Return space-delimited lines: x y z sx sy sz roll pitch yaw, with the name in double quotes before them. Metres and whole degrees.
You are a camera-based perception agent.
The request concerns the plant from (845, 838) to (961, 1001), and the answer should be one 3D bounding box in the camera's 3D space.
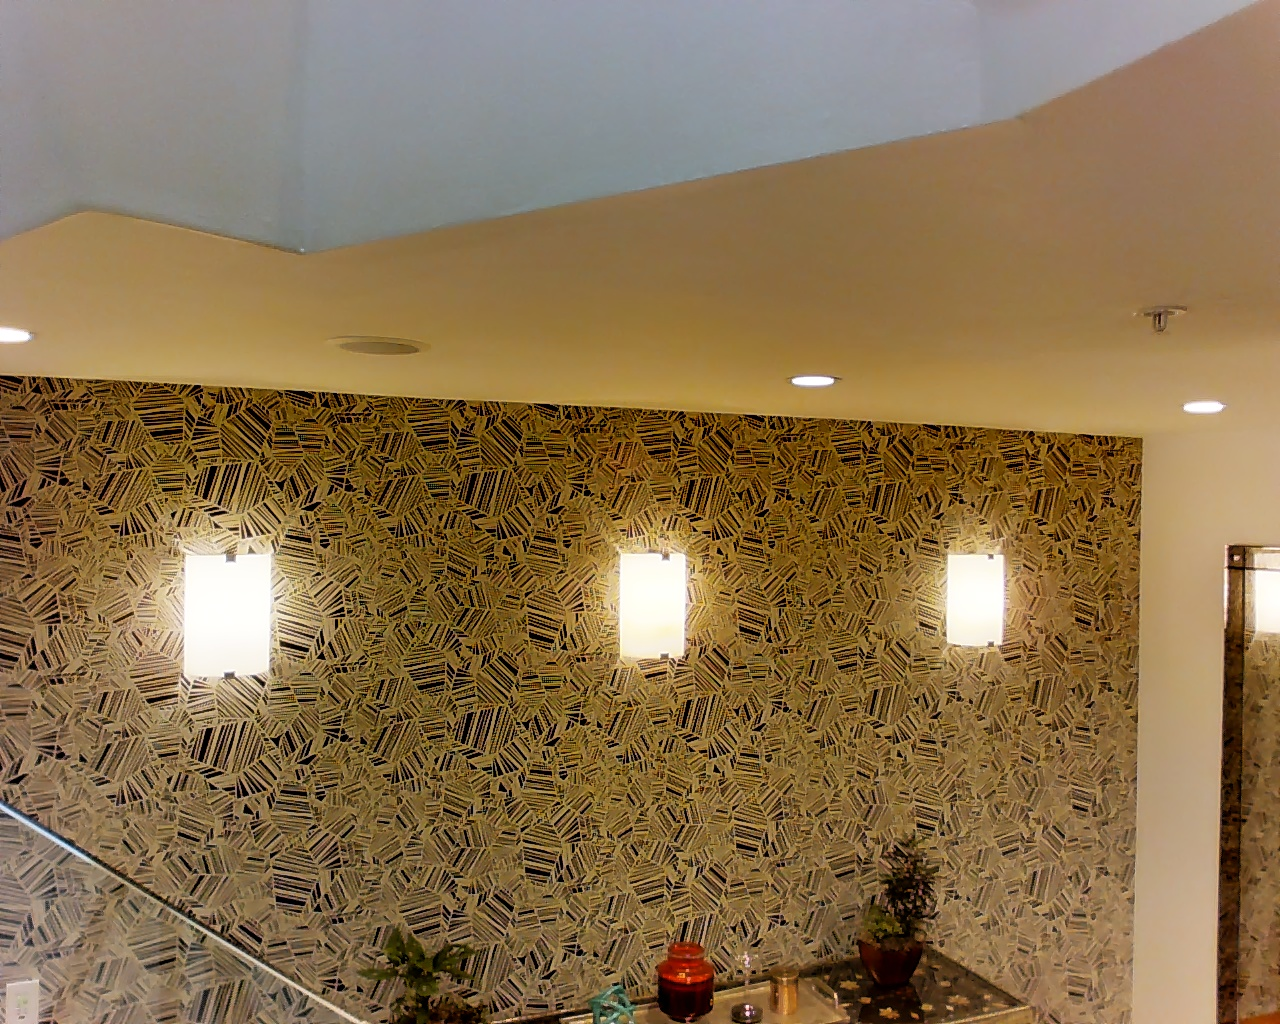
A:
"plant" 0.830 1.280 3.400 0.270 0.400 0.220 1 0 -25
